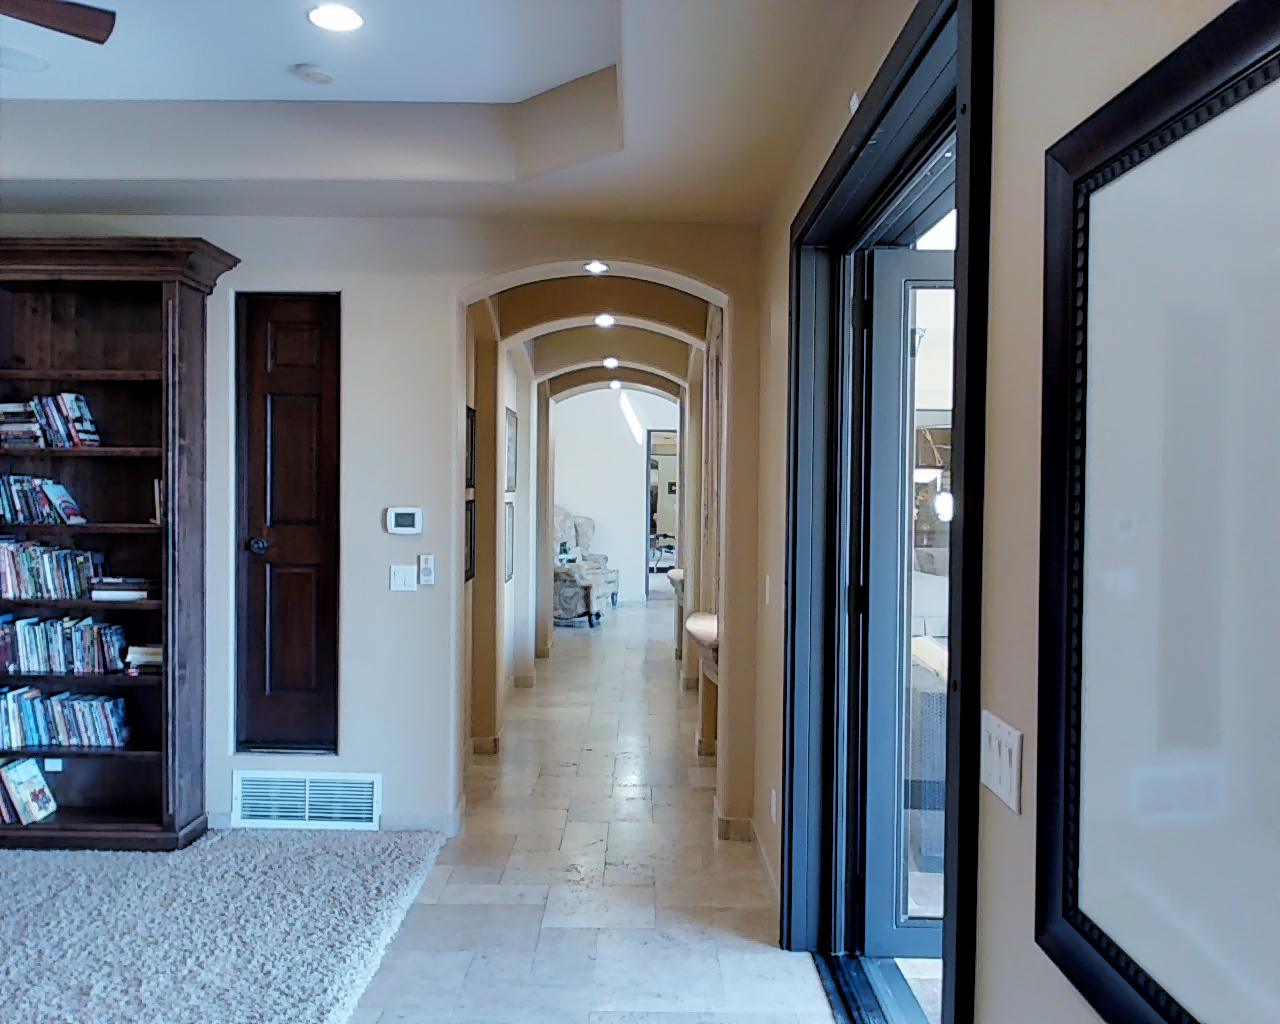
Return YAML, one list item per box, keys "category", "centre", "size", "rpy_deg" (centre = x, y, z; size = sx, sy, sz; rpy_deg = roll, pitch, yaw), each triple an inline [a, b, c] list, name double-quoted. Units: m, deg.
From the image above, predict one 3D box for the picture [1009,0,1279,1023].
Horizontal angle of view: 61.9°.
- category: "picture"
  centre: [0.510, 0.050, 0.990]
  size: [0.060, 1.050, 0.710]
  rpy_deg: [1, 1, -1]
